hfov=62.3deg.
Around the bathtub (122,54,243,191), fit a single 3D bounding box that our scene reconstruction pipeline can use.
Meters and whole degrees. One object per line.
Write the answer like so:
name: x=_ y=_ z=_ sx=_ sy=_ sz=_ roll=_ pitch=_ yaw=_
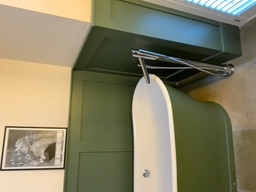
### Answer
bathtub: x=0.410 y=0.650 z=1.850 sx=0.750 sy=0.680 sz=1.760 roll=149 pitch=123 yaw=-63
